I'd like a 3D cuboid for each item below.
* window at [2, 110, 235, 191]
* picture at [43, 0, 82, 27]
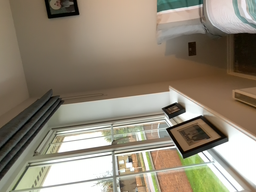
[{"bbox_3d":[-0.100,0.430,1.160,1.580,1.050,0.090,-112,15,-75],"label":"window"},{"bbox_3d":[-0.660,-0.890,2.120,0.040,0.340,0.340,-113,16,-76],"label":"picture"}]
